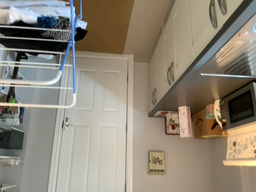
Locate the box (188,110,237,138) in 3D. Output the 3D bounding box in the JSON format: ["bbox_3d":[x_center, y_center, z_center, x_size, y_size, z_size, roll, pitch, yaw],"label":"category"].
[{"bbox_3d":[0.960,0.340,2.470,0.340,0.240,0.460,2,163,-4],"label":"box"}]
